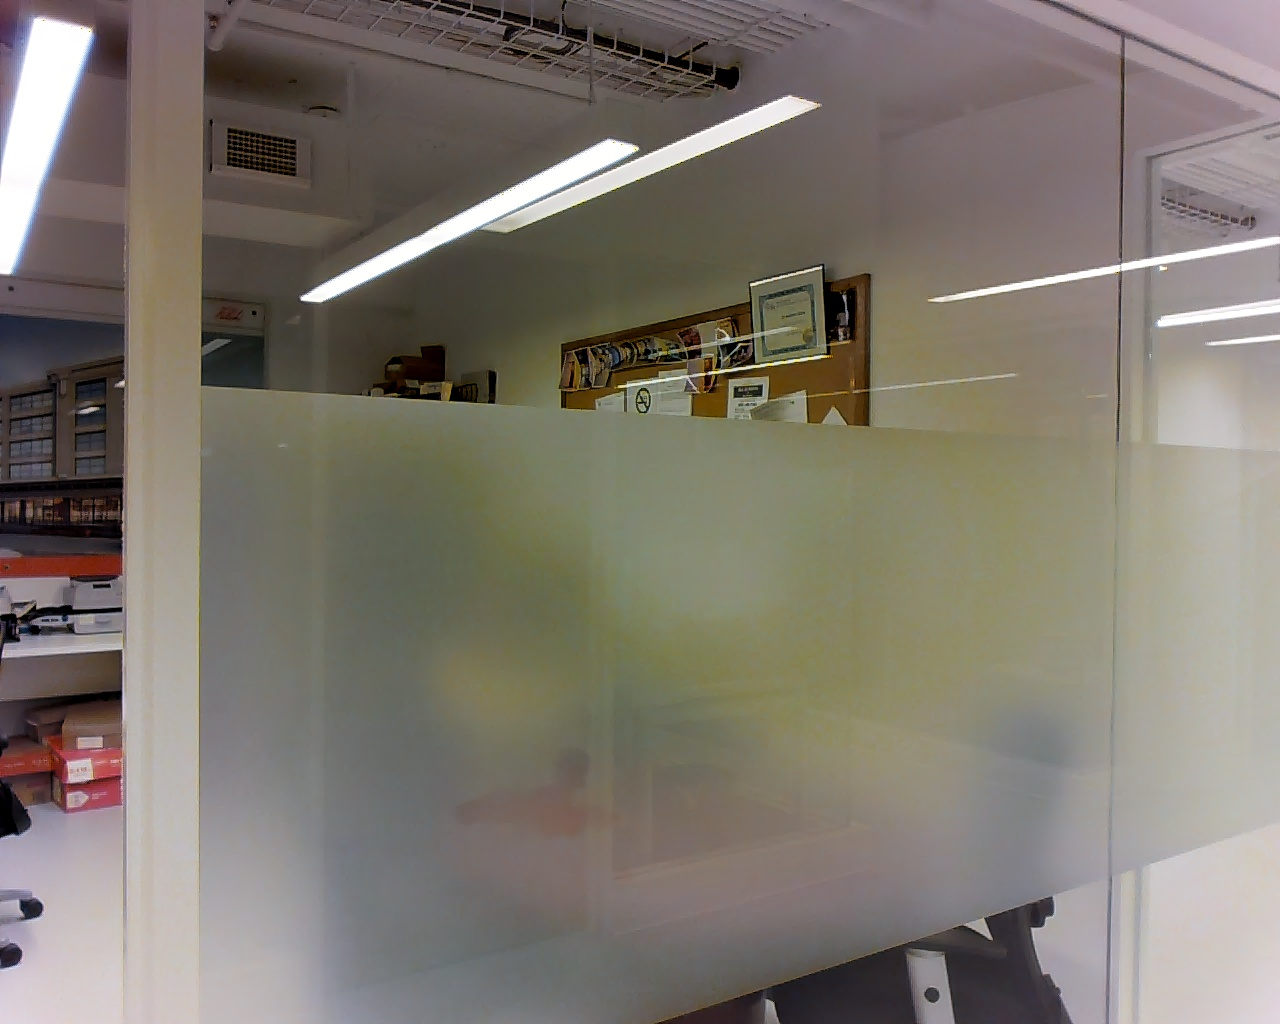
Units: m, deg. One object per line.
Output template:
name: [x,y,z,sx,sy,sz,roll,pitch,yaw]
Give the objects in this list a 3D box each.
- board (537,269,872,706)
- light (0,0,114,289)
board: [0.120,-0.080,3.930,0.090,1.280,1.860,0,0,-34]
light: [-1.710,-0.940,2.880,0.180,0.260,2.470,1,0,-34]
